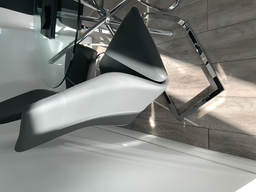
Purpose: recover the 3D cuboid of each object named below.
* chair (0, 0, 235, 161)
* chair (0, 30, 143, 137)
[{"bbox_3d":[-0.050,-0.120,1.090,0.460,1.010,0.540,-50,54,42],"label":"chair"},{"bbox_3d":[-0.460,-0.120,1.680,0.450,0.980,0.590,35,120,47],"label":"chair"}]
